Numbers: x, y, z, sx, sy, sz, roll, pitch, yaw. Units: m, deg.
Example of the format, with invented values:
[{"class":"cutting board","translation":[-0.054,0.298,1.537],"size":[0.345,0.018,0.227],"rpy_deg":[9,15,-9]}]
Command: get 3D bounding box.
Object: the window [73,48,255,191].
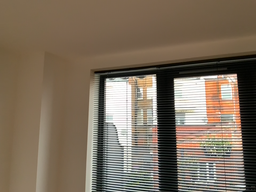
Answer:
[{"class":"window","translation":[0.870,0.740,1.700],"size":[2.920,2.240,0.170],"rpy_deg":[-3,-9,19]}]
